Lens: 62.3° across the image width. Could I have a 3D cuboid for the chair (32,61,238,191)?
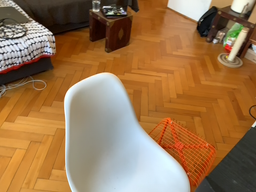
[{"bbox_3d":[-0.030,0.370,0.980,0.450,0.800,0.540,-29,55,-35],"label":"chair"}]
